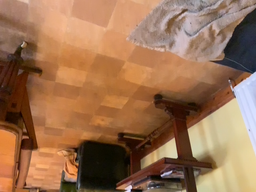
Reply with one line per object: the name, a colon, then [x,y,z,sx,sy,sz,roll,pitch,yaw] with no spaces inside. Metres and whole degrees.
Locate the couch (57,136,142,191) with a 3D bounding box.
couch: [-0.600,1.400,3.650,0.920,0.690,1.850,12,145,-19]

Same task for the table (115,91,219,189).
table: [0.330,0.580,2.430,0.570,0.720,1.090,14,144,-22]
